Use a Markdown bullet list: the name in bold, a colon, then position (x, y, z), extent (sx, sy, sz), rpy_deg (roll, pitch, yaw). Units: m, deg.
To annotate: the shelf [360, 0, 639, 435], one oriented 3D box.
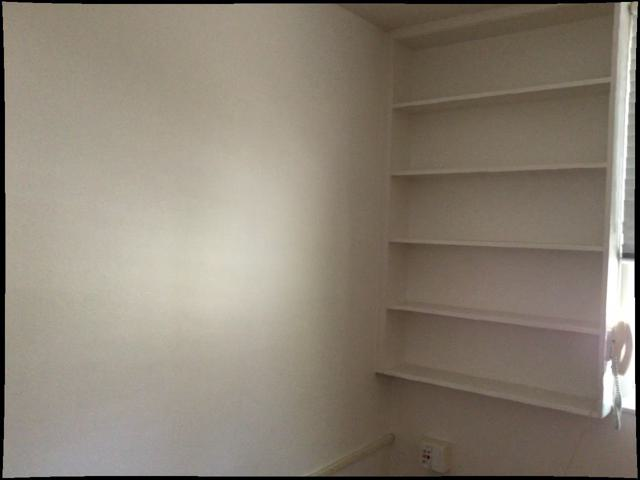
- **shelf**: position (0.739, -0.170, 2.430), extent (1.069, 1.632, 0.300), rpy_deg (5, 4, 38)
